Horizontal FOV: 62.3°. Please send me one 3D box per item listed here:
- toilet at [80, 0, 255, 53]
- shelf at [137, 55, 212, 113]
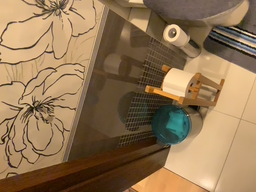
[{"bbox_3d":[0.180,-0.550,0.950,0.670,0.780,0.420,20,97,30],"label":"toilet"},{"bbox_3d":[0.260,-0.040,1.050,0.170,0.510,0.200,14,94,31],"label":"shelf"}]
